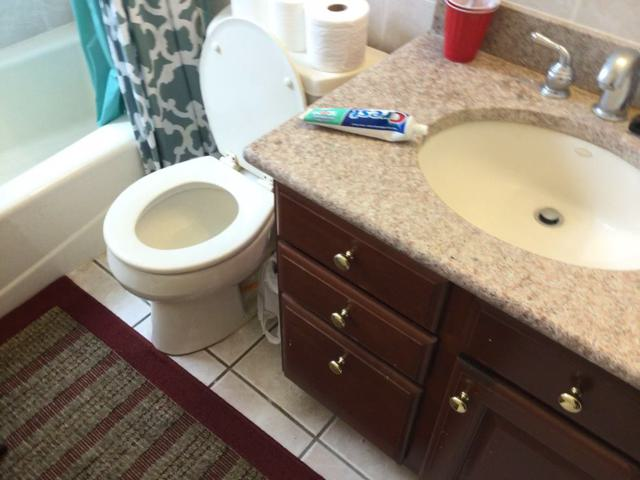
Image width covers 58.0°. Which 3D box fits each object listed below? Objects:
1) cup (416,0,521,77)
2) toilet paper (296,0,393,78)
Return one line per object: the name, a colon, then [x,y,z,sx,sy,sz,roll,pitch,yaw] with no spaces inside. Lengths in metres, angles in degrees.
cup: [0.280,-0.410,1.100,0.140,0.120,0.110,31,52,25]
toilet paper: [0.050,-0.450,1.240,0.130,0.110,0.160,31,52,25]
